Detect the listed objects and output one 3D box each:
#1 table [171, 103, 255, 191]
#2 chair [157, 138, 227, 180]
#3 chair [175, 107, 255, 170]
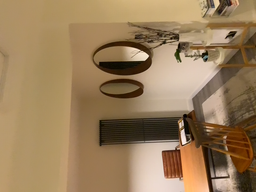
[{"bbox_3d":[1.130,1.120,2.660,0.880,0.760,1.860,97,170,-70],"label":"table"},{"bbox_3d":[1.010,1.060,3.520,0.580,0.900,0.570,97,171,-68],"label":"chair"},{"bbox_3d":[1.060,0.480,2.310,0.590,0.900,0.570,98,169,-71],"label":"chair"}]
